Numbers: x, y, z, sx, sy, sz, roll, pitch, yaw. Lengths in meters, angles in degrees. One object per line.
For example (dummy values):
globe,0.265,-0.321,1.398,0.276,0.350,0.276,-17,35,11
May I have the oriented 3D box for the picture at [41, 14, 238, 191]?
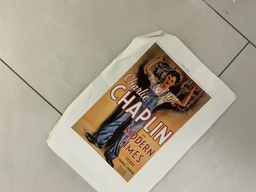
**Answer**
picture,0.020,0.030,0.400,0.190,0.060,0.300,44,90,0
